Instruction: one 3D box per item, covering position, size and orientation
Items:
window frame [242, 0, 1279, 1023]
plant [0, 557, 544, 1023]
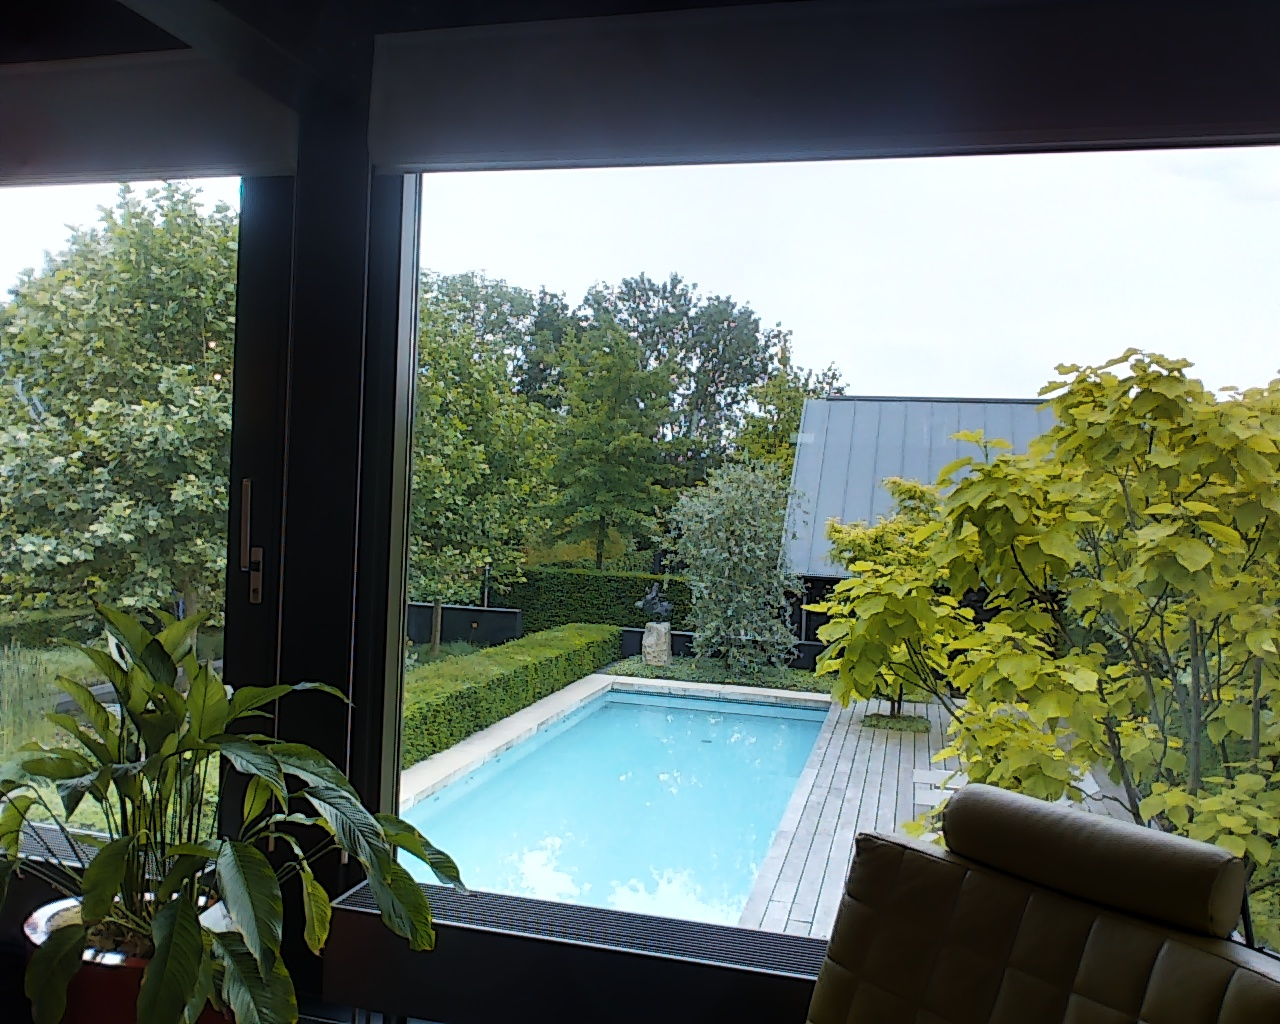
[{"bbox_3d":[0.560,0.170,2.370,2.860,2.300,0.470,3,1,15],"label":"window frame"},{"bbox_3d":[-1.010,0.700,2.260,1.290,1.090,1.020,3,1,15],"label":"plant"}]
